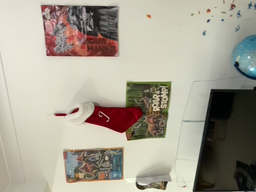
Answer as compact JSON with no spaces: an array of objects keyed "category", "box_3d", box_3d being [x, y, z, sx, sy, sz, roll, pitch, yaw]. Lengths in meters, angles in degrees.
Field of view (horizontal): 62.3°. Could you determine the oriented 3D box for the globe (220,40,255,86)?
[{"category":"globe","box_3d":[0.760,-0.200,1.260,0.190,0.300,0.230,-103,14,-68]}]
